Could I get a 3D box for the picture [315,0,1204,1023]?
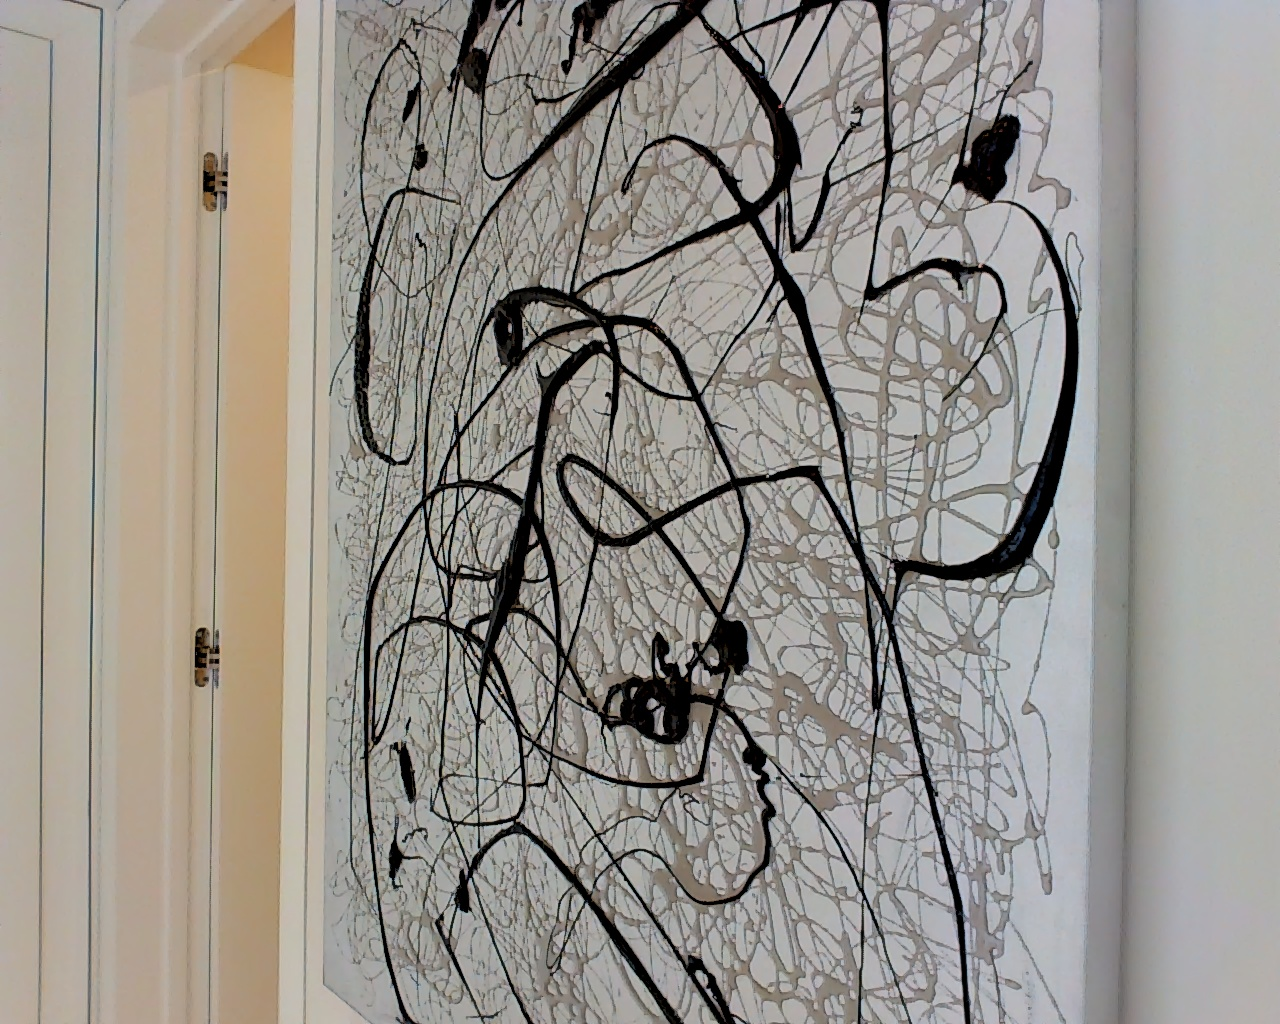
[{"bbox_3d":[-0.050,-0.060,0.900,0.050,1.310,0.980,0,1,-39],"label":"picture"}]
